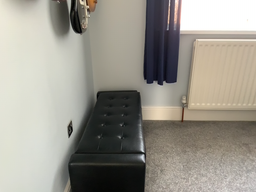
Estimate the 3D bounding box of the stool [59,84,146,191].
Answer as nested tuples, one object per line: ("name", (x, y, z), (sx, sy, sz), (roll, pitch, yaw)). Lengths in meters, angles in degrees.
("stool", (-0.120, 0.280, 1.690), (0.460, 0.400, 1.090), (1, 22, 1))
